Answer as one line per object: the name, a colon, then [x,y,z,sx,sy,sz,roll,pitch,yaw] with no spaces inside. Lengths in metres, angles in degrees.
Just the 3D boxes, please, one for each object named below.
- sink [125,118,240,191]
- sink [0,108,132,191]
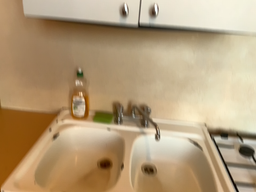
sink: [0.200,0.330,0.950,0.400,0.180,0.550,6,23,2]
sink: [-0.210,0.280,0.970,0.410,0.180,0.550,6,23,2]
